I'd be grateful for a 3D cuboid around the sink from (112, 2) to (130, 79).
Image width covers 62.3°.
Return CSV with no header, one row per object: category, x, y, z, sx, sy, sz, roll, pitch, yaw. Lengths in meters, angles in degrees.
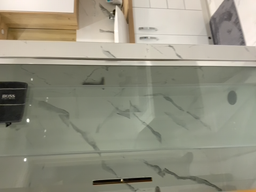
sink,-0.080,-0.520,2.060,0.400,0.110,0.600,112,156,-69
